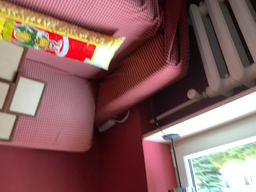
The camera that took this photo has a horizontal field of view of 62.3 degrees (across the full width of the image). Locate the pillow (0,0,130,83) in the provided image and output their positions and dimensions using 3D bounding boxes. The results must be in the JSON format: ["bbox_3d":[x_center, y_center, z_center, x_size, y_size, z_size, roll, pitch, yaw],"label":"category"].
[{"bbox_3d":[-0.340,-0.260,0.970,0.670,0.130,0.260,16,146,-34],"label":"pillow"}]
